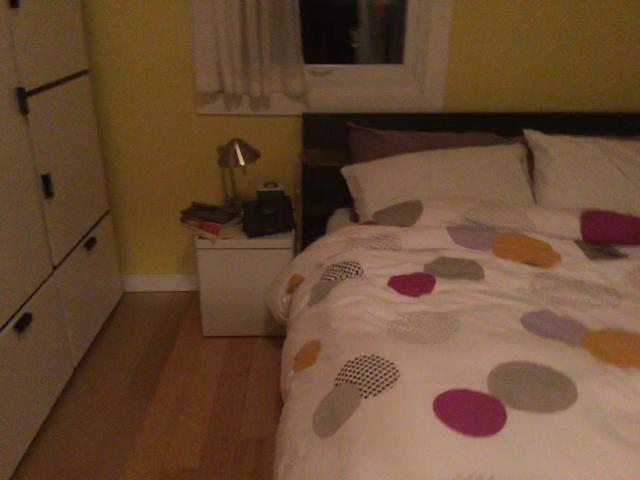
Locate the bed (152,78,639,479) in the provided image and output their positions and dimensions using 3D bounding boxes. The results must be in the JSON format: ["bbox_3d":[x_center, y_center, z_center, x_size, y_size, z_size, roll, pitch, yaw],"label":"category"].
[{"bbox_3d":[0.650,0.190,1.500,1.640,0.830,2.090,2,23,-3],"label":"bed"}]

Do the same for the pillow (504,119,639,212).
[{"bbox_3d":[1.050,-0.260,2.000,0.680,0.210,0.370,2,23,-3],"label":"pillow"}]

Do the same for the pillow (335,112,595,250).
[{"bbox_3d":[0.460,-0.230,2.090,0.770,0.330,0.510,2,23,-3],"label":"pillow"}]
